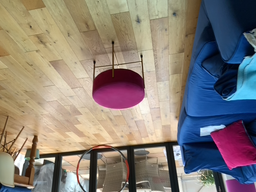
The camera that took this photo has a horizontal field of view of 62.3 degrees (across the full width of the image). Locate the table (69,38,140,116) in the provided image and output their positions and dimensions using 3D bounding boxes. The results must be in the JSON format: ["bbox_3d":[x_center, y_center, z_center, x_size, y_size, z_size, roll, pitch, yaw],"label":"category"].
[{"bbox_3d":[-0.160,-0.130,1.720,0.440,0.400,0.440,-7,152,7],"label":"table"}]
